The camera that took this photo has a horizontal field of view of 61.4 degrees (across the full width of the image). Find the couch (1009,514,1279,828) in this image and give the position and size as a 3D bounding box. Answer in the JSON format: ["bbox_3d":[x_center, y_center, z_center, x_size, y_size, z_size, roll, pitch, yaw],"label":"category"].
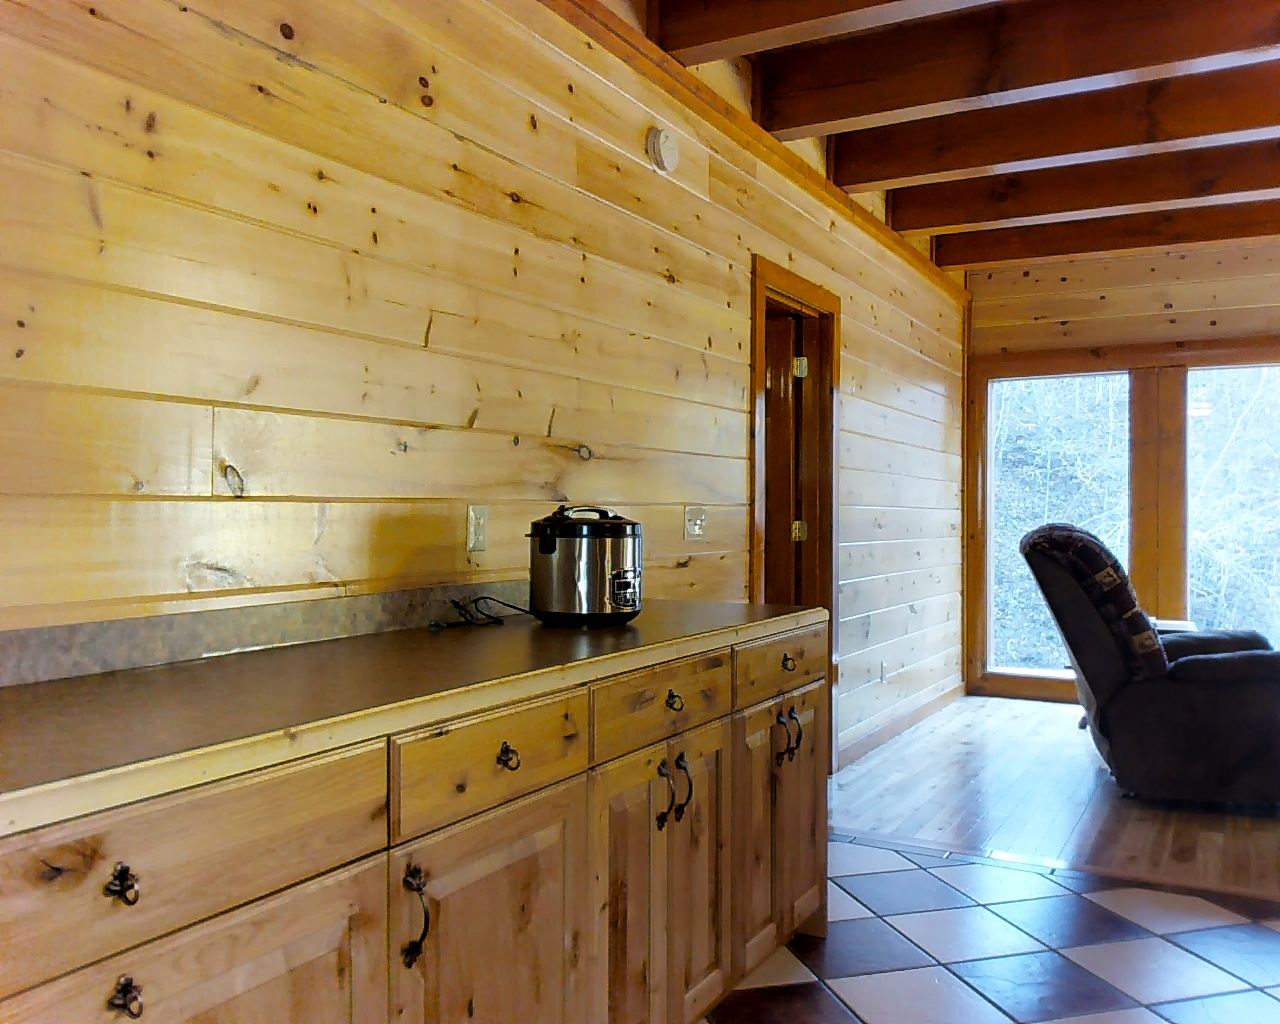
[{"bbox_3d":[2.259,0.590,4.550,1.250,1.140,1.070,1,0,15],"label":"couch"}]
